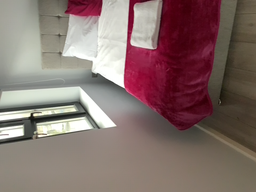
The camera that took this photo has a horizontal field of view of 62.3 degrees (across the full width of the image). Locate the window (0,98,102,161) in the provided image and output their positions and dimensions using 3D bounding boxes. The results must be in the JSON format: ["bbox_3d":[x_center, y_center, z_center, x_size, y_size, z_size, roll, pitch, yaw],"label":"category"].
[{"bbox_3d":[-0.950,0.310,2.510,0.960,1.020,0.180,37,128,57],"label":"window"}]

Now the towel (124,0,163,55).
[{"bbox_3d":[0.100,-0.540,1.640,0.410,0.070,0.380,36,126,58],"label":"towel"}]
